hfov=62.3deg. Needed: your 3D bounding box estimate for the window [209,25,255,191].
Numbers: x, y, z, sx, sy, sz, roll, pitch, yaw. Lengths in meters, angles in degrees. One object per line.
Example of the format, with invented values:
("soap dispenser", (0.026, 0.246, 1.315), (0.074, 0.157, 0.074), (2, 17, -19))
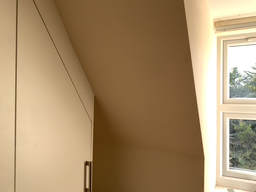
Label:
("window", (1.080, 0.100, 1.660), (0.800, 1.300, 0.130), (1, 0, 32))
